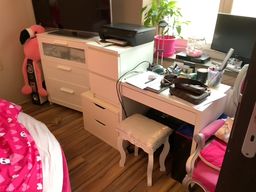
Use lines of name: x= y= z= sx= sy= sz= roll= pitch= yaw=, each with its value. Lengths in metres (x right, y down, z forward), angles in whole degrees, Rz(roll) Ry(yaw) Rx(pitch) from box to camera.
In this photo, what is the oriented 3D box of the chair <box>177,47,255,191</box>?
chair: x=0.840 y=0.320 z=1.380 sx=0.600 sy=1.030 sz=0.820 roll=24 pitch=36 yaw=38
